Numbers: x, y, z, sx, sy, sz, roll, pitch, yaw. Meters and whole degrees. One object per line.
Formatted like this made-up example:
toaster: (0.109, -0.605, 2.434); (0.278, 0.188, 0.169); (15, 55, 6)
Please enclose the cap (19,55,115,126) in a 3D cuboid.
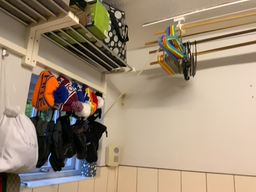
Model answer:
cap: (-0.350, 0.020, 1.490); (0.130, 0.300, 0.790); (-4, -15, 26)
